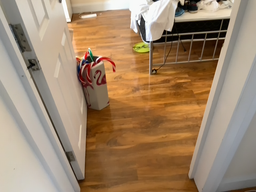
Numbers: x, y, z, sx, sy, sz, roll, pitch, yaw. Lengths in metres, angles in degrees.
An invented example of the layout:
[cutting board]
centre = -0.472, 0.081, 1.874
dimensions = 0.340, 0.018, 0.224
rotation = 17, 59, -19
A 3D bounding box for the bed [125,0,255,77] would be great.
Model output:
[bed]
centre = 0.760, -1.190, 2.860
dimensions = 1.470, 0.640, 2.070
rotation = -5, 42, -2
